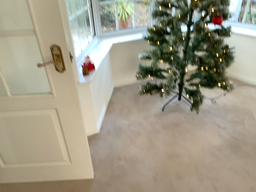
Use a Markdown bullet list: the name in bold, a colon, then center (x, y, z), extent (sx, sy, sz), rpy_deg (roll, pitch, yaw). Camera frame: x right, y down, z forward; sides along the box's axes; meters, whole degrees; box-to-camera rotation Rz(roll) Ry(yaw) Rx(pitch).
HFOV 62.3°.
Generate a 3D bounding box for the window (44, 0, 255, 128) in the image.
- **window**: center (0.400, -0.960, 2.350), extent (2.440, 2.010, 0.800), rpy_deg (-13, 36, -16)
